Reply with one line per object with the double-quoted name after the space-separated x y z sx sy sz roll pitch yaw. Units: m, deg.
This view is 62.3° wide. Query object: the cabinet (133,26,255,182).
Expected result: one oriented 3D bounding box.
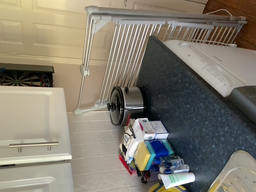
0.600 0.020 1.370 0.650 0.850 0.630 -116 34 -50 "cabinet"
